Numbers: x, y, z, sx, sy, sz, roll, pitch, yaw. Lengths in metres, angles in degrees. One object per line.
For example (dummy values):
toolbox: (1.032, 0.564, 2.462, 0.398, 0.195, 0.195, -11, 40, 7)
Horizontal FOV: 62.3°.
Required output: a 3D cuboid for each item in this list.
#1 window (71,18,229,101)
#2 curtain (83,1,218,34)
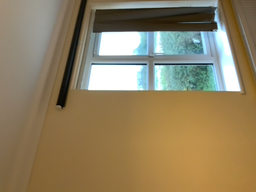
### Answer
window: (0.200, -0.420, 2.180, 0.080, 1.400, 1.010, 85, -173, -59)
curtain: (0.210, -0.790, 2.140, 0.130, 1.270, 0.300, 84, -173, -61)
